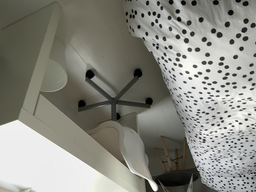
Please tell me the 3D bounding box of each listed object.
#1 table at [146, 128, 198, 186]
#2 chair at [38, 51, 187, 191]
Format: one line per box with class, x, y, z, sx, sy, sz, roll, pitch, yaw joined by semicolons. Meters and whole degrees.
table;0.500;0.710;2.420;0.390;0.420;0.510;-19;139;17
chair;-0.110;0.290;1.560;0.660;0.790;0.650;-33;133;30
